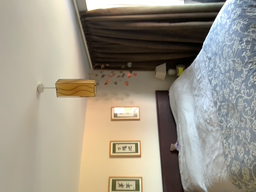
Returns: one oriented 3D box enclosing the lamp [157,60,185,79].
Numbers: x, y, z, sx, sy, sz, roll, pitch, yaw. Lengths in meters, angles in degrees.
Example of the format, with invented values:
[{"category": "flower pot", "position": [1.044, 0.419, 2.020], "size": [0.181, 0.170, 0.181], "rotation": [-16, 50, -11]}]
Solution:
[{"category": "lamp", "position": [0.810, -0.500, 4.070], "size": [0.310, 0.470, 0.220], "rotation": [92, 179, -64]}]
